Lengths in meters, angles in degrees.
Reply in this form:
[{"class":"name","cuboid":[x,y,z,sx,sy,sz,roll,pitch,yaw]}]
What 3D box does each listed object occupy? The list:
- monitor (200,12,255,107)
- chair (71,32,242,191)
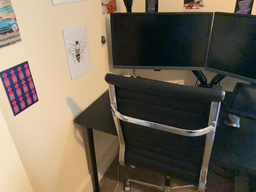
[{"class":"monitor","cuboid":[0.780,-0.190,1.270,0.040,0.540,0.660,-27,37,-37]},{"class":"chair","cuboid":[0.220,0.290,1.340,0.640,1.180,0.720,10,31,21]}]
